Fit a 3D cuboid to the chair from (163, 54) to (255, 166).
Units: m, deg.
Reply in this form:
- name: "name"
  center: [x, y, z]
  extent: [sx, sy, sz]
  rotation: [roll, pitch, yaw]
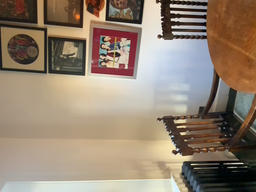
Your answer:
- name: "chair"
  center: [0.820, 0.090, 1.440]
  extent: [0.450, 0.980, 0.560]
  rotation: [-104, 18, -59]

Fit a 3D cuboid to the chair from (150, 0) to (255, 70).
- name: "chair"
  center: [0.750, -0.620, 1.990]
  extent: [0.550, 0.950, 0.490]
  rotation: [117, 153, -68]
